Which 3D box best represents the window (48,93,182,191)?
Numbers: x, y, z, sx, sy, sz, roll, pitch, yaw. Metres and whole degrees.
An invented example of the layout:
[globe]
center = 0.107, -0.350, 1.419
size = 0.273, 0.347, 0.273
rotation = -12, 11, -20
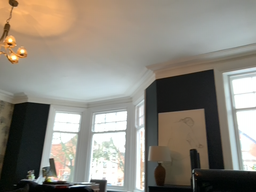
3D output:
[window]
center = -0.370, 1.260, 5.370
size = 3.040, 2.020, 1.200
rotation = -9, -20, 29
